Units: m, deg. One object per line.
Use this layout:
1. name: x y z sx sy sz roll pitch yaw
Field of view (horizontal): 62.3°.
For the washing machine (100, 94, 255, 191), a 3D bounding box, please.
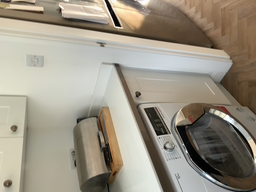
1. washing machine: 0.400 0.440 1.250 0.590 0.920 0.640 -111 32 -42
